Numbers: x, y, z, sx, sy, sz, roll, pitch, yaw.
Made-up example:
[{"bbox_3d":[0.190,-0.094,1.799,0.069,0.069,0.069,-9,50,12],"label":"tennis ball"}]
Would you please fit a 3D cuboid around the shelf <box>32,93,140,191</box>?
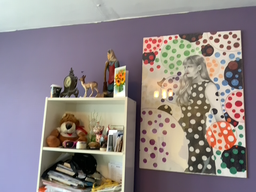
[{"bbox_3d":[-0.300,0.900,1.410,0.640,1.820,0.280,1,-10,15],"label":"shelf"}]
